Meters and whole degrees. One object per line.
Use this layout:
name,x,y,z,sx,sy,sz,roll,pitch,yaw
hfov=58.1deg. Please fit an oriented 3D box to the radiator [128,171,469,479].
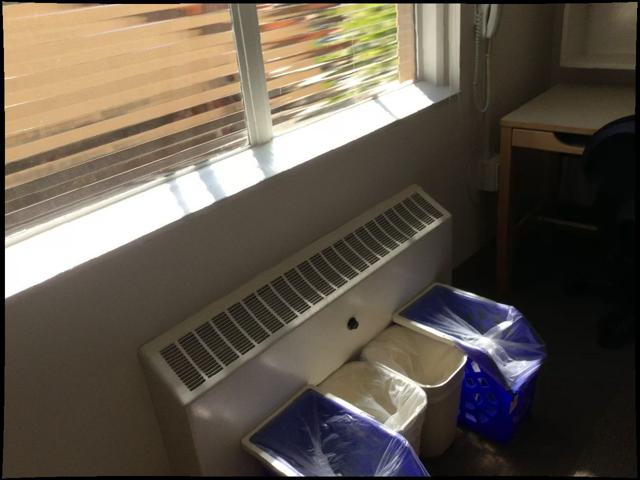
radiator,0.060,0.271,1.770,0.200,0.531,1.199,15,37,40
